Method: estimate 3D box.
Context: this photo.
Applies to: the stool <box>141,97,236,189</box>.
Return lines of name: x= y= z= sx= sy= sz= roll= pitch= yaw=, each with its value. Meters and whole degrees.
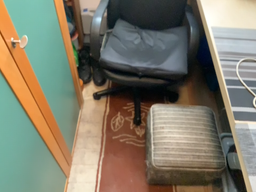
stool: x=0.290 y=0.280 z=1.210 sx=0.390 sy=0.380 sz=0.370 roll=4 pitch=54 yaw=0
